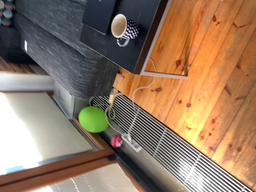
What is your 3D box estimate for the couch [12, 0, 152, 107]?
[{"bbox_3d":[-0.510,-0.670,1.860,1.300,0.410,0.990,36,114,37],"label":"couch"}]
